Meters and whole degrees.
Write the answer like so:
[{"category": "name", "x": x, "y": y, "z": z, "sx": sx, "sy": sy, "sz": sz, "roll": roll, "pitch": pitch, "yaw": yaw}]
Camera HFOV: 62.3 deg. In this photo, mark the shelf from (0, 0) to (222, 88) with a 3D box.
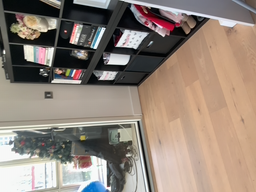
[{"category": "shelf", "x": -0.310, "y": -0.580, "z": 1.990, "sx": 1.520, "sy": 1.530, "sz": 0.420, "roll": 137, "pitch": 128, "yaw": -57}]
